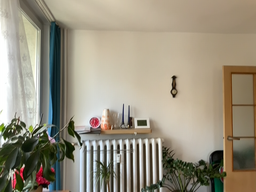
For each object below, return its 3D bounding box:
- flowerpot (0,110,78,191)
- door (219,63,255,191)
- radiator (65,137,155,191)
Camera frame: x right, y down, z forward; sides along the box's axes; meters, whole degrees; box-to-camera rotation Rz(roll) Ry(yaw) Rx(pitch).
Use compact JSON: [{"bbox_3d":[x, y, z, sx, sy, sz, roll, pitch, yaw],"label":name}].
[{"bbox_3d":[-0.490,0.430,0.890,0.440,0.720,0.530,1,-2,-2],"label":"flowerpot"},{"bbox_3d":[1.610,0.660,2.620,0.920,2.120,0.110,1,-2,-3],"label":"door"},{"bbox_3d":[-0.220,0.980,2.700,1.100,0.880,0.190,1,-2,-6],"label":"radiator"}]
